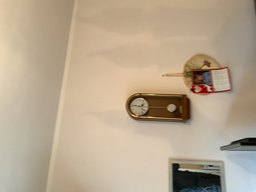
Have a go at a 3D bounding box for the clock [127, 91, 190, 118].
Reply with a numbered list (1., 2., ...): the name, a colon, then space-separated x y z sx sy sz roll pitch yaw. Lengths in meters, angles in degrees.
1. clock: 0.250 0.070 1.770 0.070 0.510 0.200 67 -155 -75

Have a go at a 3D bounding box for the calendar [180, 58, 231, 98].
1. calendar: 0.650 -0.160 1.810 0.070 0.380 0.340 74 -162 -69
